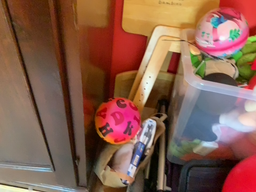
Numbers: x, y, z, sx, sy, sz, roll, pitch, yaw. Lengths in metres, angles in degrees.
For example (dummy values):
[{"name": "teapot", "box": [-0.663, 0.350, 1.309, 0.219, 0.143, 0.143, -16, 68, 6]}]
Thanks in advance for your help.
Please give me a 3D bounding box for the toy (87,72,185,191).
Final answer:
[{"name": "toy", "box": [0.010, 0.250, 0.980, 0.300, 0.580, 0.370, 9, 46, -1]}]
